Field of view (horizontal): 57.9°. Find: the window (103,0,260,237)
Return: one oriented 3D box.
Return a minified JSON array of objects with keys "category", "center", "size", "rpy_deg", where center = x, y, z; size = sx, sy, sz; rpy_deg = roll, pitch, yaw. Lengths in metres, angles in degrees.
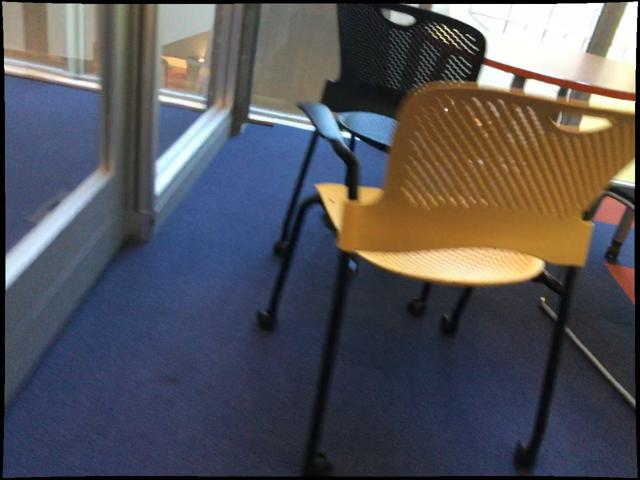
[{"category":"window","center":[-0.430,-0.821,2.130],"size":[0.200,1.121,1.310],"rpy_deg":[12,29,-1]}]

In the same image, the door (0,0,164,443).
[{"category":"door","center":[-0.519,-0.320,1.200],"size":[0.140,1.121,0.870],"rpy_deg":[10,29,-3]}]

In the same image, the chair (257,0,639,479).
[{"category":"chair","center":[0.250,0.010,1.210],"size":[0.629,0.791,0.590],"rpy_deg":[8,29,-7]}]
